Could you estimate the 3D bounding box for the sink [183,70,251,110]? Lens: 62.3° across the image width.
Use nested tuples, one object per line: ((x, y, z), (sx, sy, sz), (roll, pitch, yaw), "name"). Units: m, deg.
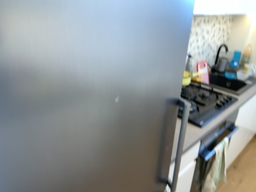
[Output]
((0.820, -0.080, 1.960), (0.440, 0.150, 0.400), (24, 31, 39), "sink")
